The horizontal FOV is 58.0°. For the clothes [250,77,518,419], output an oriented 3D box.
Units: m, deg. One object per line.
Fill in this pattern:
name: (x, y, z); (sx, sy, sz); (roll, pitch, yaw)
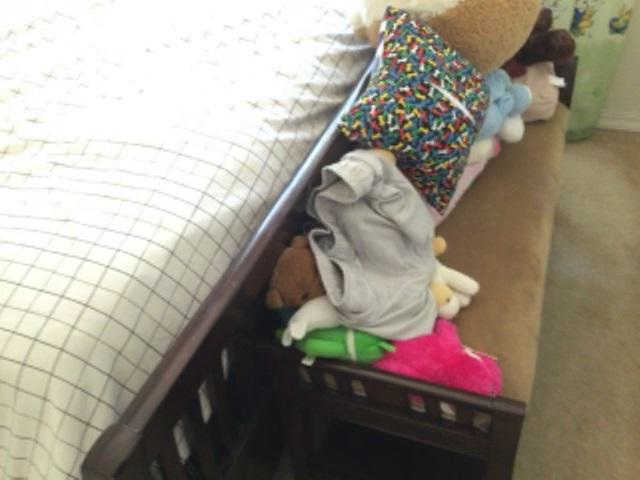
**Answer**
clothes: (0.140, -0.020, 0.980); (0.280, 0.280, 0.490); (10, 46, 20)

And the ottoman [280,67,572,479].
ottoman: (0.350, 0.060, 1.420); (0.370, 0.450, 1.170); (8, 45, 22)

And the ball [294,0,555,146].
ball: (0.240, -0.500, 1.180); (0.440, 0.390, 0.430); (10, 46, 20)
